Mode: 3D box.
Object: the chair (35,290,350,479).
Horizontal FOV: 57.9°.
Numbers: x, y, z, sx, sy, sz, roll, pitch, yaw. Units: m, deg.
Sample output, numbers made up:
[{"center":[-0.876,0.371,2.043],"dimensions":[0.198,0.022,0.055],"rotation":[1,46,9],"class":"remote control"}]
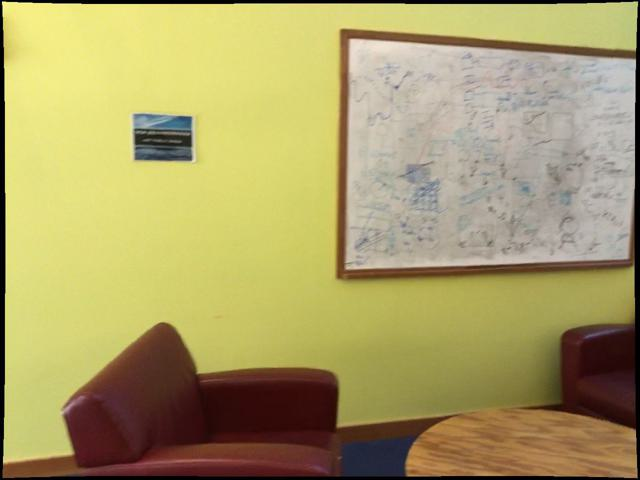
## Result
[{"center":[-0.340,0.751,2.150],"dimensions":[0.809,0.731,0.860],"rotation":[-5,25,7],"class":"chair"}]
